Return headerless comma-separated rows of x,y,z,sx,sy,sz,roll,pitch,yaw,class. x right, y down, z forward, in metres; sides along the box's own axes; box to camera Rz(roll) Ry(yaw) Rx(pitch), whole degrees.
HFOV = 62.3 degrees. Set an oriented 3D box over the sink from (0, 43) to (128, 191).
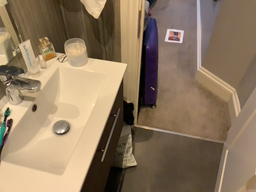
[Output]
-0.260,0.070,0.820,0.390,0.150,0.670,9,48,7,sink
